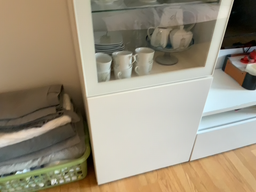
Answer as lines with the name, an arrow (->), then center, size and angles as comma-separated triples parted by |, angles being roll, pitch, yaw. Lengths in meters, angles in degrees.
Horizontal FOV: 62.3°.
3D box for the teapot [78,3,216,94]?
teapot -> 0.070, -0.260, 1.050 | 0.550, 0.270, 0.320 | -11, 39, -15
